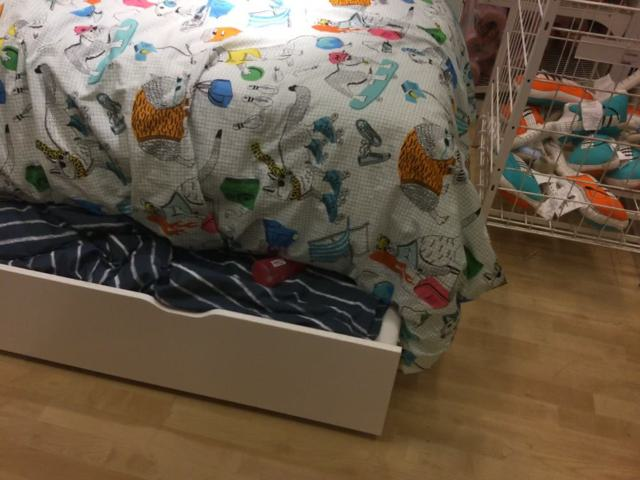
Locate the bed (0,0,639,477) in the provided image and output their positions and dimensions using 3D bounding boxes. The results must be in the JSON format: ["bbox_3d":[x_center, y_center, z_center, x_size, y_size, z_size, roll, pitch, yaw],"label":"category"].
[{"bbox_3d":[-0.570,-0.440,1.620,2.190,1.000,1.400,9,42,4],"label":"bed"}]
